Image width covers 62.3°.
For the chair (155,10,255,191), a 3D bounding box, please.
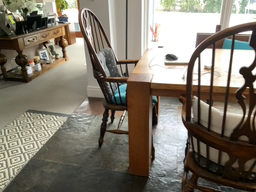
[{"bbox_3d":[0.510,0.170,1.150,0.560,1.140,0.640,8,27,19],"label":"chair"}]
